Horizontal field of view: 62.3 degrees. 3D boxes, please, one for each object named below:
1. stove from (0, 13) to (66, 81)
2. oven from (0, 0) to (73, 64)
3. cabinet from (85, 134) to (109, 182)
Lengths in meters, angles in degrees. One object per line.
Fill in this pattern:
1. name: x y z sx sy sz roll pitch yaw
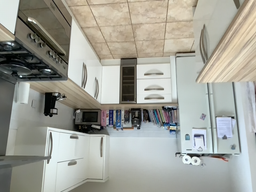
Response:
1. stove: -1.000 -0.370 1.900 0.550 0.210 0.890 -1 167 6
2. oven: -0.980 -0.810 2.000 0.570 0.710 0.890 -1 167 6
3. cabinet: -0.560 1.110 3.880 0.300 0.800 0.400 -1 167 7
